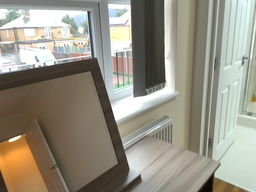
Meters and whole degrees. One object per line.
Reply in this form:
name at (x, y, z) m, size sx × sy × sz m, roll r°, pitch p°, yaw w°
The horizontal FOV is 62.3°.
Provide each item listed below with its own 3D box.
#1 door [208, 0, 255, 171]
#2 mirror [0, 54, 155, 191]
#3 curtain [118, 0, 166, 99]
door at (1.080, -0.310, 2.170) m, size 0.060 × 2.000 × 0.870 m, roll 12°, pitch 23°, yaw 38°
mirror at (-0.240, 0.130, 0.750) m, size 0.400 × 0.470 × 0.540 m, roll 17°, pitch 25°, yaw 41°
curtain at (0.090, -0.620, 1.340) m, size 0.200 × 1.240 × 0.240 m, roll 14°, pitch 24°, yaw 42°
